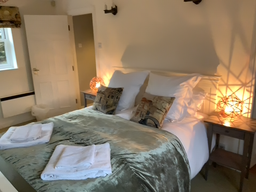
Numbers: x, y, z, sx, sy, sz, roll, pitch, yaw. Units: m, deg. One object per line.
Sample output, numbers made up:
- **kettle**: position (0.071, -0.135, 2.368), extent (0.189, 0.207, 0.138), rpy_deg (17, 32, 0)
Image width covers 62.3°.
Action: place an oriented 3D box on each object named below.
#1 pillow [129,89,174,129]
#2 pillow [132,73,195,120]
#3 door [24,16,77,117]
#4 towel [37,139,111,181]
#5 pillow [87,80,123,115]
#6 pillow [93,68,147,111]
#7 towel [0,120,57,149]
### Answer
- **pillow**: position (0.250, 0.130, 2.290), extent (0.350, 0.330, 0.130), rpy_deg (14, -22, 41)
- **pillow**: position (0.400, -0.020, 2.460), extent (0.620, 0.380, 0.350), rpy_deg (12, 21, 40)
- **door**: position (-1.470, -0.560, 4.160), extent (0.760, 1.890, 0.050), rpy_deg (-10, 18, -26)
- **towel**: position (-0.350, 0.440, 1.520), extent (0.450, 0.050, 0.400), rpy_deg (-3, 16, -2)
- **pillow**: position (-0.300, 0.010, 2.720), extent (0.340, 0.360, 0.160), rpy_deg (14, -9, 41)
- **pillow**: position (-0.100, -0.120, 2.910), extent (0.480, 0.420, 0.550), rpy_deg (13, 22, 42)
- **towel**: position (-0.950, 0.350, 1.990), extent (0.470, 0.060, 0.420), rpy_deg (-4, 16, -9)
